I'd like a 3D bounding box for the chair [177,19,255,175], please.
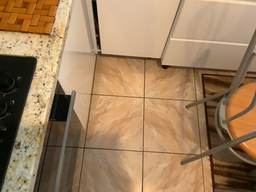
[{"bbox_3d":[0.570,0.110,0.970,0.470,0.790,0.390,5,66,-2],"label":"chair"}]
